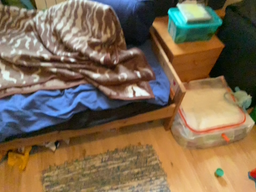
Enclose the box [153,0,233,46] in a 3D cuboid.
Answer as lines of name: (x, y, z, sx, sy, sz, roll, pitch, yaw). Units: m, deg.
box: (0.460, -0.590, 1.580, 0.410, 0.170, 0.390, -10, 54, -14)
